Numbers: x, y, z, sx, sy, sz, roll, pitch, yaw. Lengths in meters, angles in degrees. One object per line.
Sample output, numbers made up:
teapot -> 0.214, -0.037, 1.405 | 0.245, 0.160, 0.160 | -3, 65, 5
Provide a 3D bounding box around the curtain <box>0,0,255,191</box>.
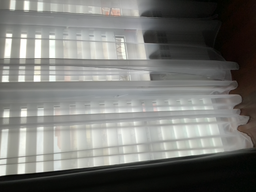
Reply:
curtain -> -0.230, -0.320, 1.700 | 0.290, 2.800, 3.150 | 126, 140, -65
